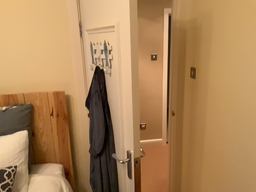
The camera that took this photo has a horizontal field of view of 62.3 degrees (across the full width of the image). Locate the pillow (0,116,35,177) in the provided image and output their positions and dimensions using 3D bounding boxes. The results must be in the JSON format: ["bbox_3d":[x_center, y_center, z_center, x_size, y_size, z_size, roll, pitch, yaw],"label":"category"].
[{"bbox_3d":[-0.840,0.330,1.400,0.320,0.360,0.150,-3,-43,-5],"label":"pillow"}]

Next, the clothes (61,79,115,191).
[{"bbox_3d":[-0.260,0.610,1.540,0.200,1.420,0.300,-12,18,-32],"label":"clothes"}]

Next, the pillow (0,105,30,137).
[{"bbox_3d":[-1.010,0.190,1.470,0.610,0.200,0.090,-3,-11,-4],"label":"pillow"}]

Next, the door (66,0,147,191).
[{"bbox_3d":[-0.170,0.350,1.530,0.150,2.130,0.900,-9,17,-26],"label":"door"}]
